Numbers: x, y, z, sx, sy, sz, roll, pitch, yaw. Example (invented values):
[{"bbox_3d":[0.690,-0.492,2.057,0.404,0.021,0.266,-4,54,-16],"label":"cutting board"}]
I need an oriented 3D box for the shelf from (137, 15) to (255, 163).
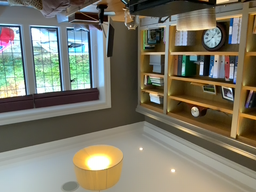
[{"bbox_3d":[1.200,-0.230,3.180,0.530,1.630,2.940,-7,14,-31],"label":"shelf"}]

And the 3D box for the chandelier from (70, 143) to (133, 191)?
[{"bbox_3d":[-0.240,0.990,1.950,0.400,0.930,0.430,-7,14,-31],"label":"chandelier"}]
